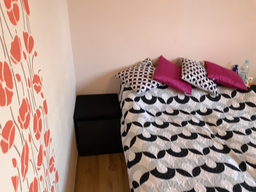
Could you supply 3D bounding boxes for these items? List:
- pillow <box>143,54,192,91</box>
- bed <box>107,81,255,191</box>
[{"bbox_3d":[0.350,-0.230,1.980,0.330,0.220,0.330,-5,28,-13],"label":"pillow"},{"bbox_3d":[0.620,0.560,1.510,1.340,0.540,2.010,-3,27,-10],"label":"bed"}]
